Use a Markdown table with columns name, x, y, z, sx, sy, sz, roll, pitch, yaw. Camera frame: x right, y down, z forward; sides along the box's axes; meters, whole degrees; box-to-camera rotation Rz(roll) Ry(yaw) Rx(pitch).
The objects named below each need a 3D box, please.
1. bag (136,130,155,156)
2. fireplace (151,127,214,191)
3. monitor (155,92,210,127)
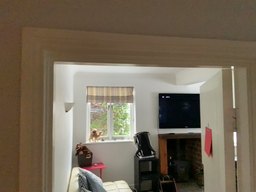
| name | x | y | z | sx | sy | sz | roll | pitch | yaw |
| --- | --- | --- | --- | --- | --- | --- | --- | --- | --- |
| bag | 0.360 | 0.970 | 4.430 | 0.310 | 0.480 | 0.300 | 0 | -3 | -12 |
| fireplace | 1.220 | 1.370 | 4.890 | 1.190 | 1.190 | 0.740 | 0 | -3 | -13 |
| monitor | 1.230 | 0.290 | 4.750 | 1.290 | 0.760 | 0.050 | 0 | -3 | -12 |
